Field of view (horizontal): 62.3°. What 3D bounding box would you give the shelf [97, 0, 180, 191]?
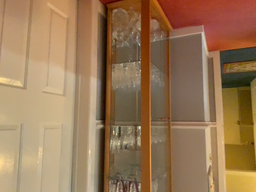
[{"bbox_3d":[0.130,0.230,1.880,0.490,1.990,0.730,-3,173,22],"label":"shelf"}]
